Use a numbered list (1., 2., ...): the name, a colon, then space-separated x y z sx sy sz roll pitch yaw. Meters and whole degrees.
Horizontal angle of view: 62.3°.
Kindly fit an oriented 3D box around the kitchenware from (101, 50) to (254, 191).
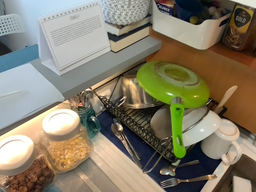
1. kitchenware: 0.140 0.050 0.770 0.250 0.190 0.450 -29 52 -31
